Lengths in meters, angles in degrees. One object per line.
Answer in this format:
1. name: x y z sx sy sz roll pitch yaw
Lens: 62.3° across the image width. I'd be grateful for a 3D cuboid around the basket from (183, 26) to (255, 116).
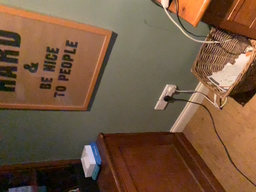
1. basket: 0.670 -0.150 1.380 0.340 0.320 0.440 58 136 45
